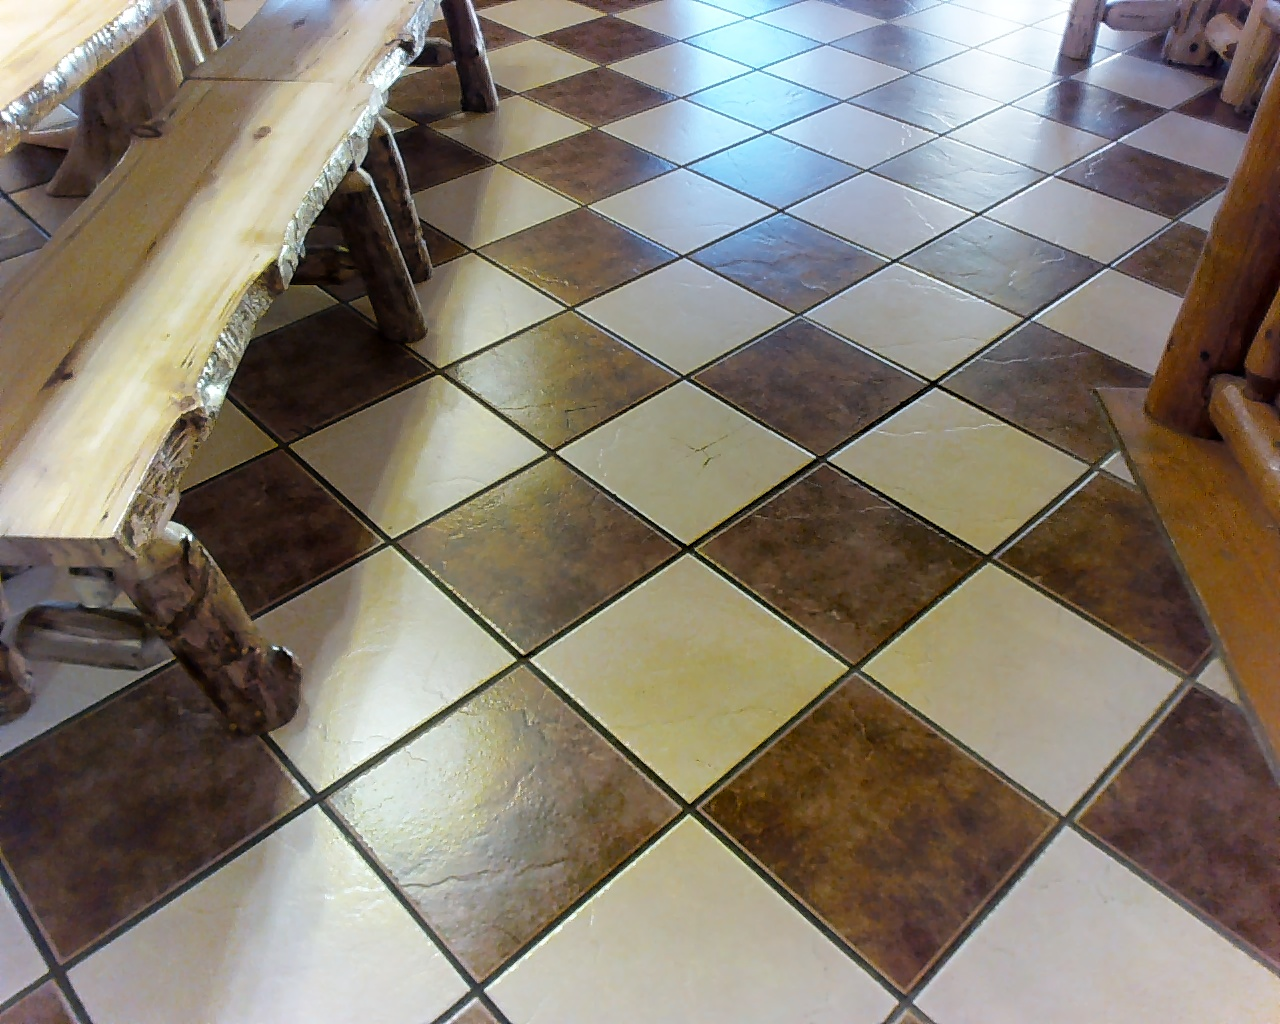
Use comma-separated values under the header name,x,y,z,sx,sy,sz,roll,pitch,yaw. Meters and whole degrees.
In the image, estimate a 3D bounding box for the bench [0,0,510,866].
name,x,y,z,sx,sy,sz,roll,pitch,yaw
bench,-0.730,-0.610,2.090,0.560,0.500,2.520,3,42,2
